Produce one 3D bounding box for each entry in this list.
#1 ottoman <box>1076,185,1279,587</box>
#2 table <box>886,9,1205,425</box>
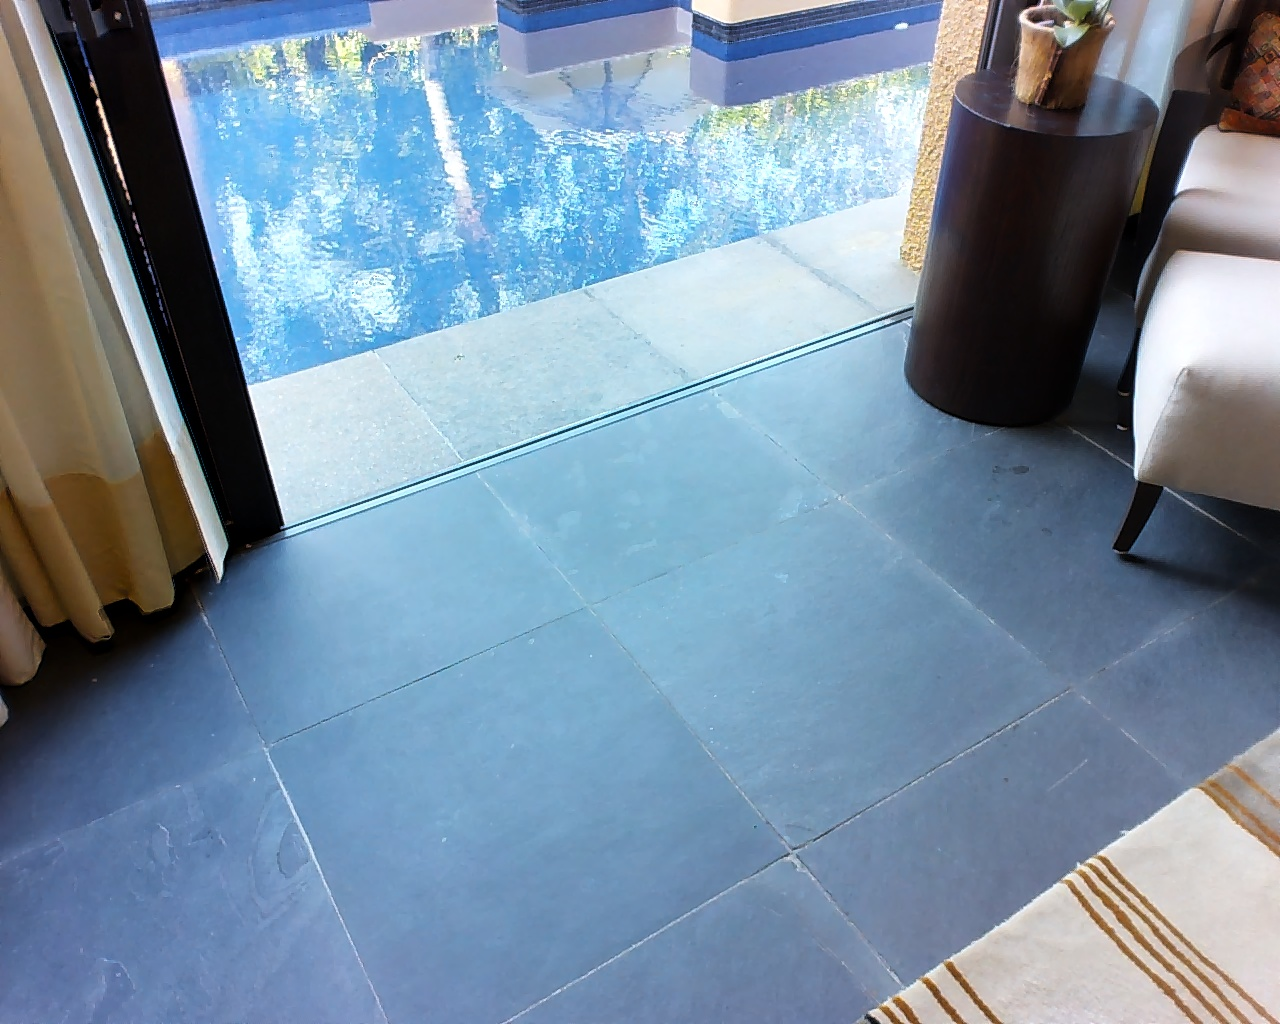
[{"bbox_3d":[1.330,-0.210,2.020,0.820,0.470,0.590,14,43,15],"label":"ottoman"},{"bbox_3d":[0.860,-0.650,2.360,0.460,0.680,0.500,12,43,13],"label":"table"}]
